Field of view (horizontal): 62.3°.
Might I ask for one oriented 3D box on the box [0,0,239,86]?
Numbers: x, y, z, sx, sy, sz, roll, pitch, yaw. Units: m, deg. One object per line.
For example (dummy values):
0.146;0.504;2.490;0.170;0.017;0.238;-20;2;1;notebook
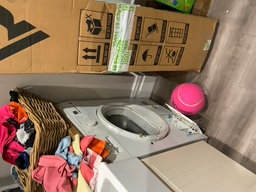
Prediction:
-0.100;-0.300;1.080;0.680;1.460;0.390;14;101;46;box
